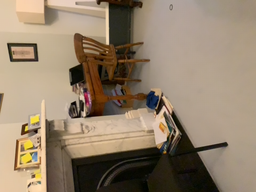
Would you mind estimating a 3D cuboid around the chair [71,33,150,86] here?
[{"bbox_3d":[-0.250,-0.460,2.720,0.500,0.880,0.390,113,147,-51],"label":"chair"}]

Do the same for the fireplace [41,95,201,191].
[{"bbox_3d":[-0.080,0.960,1.890,0.660,1.230,2.020,106,153,-42],"label":"fireplace"}]

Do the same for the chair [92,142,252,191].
[{"bbox_3d":[0.260,0.680,1.410,0.480,0.890,0.440,108,151,-45],"label":"chair"}]
